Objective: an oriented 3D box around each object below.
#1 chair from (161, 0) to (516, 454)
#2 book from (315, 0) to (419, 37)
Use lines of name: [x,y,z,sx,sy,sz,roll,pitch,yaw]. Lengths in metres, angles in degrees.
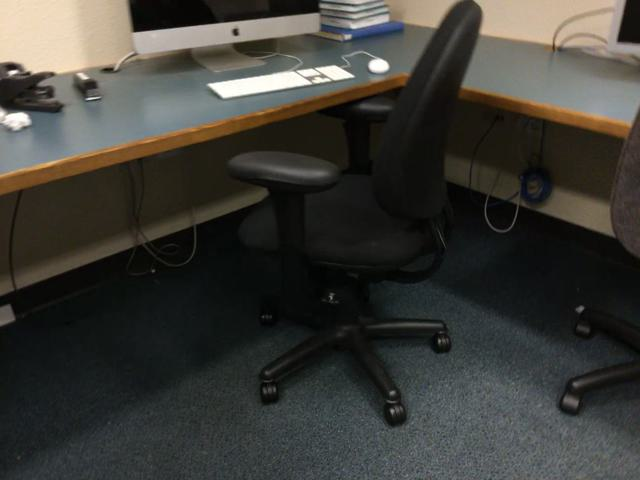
chair: [0.070,-0.110,1.530,0.590,0.990,0.600,15,31,25]
book: [0.190,-0.930,2.290,0.390,0.180,0.200,-24,36,-38]
